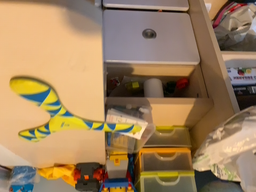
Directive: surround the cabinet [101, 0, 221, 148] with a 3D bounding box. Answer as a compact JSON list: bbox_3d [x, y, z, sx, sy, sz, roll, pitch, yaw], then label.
[{"bbox_3d":[0.060,-0.160,0.920,0.330,0.650,0.440,1,151,-6],"label":"cabinet"}]
